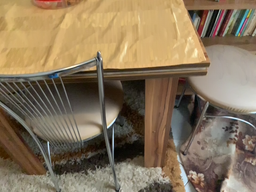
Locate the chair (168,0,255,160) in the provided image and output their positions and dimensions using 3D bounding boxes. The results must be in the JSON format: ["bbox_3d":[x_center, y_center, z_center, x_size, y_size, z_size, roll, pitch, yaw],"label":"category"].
[{"bbox_3d":[0.460,-0.090,0.970,0.410,0.810,0.420,-3,49,1],"label":"chair"}]

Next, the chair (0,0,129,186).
[{"bbox_3d":[-0.230,0.080,0.860,0.420,0.810,0.250,-5,49,-1],"label":"chair"}]
